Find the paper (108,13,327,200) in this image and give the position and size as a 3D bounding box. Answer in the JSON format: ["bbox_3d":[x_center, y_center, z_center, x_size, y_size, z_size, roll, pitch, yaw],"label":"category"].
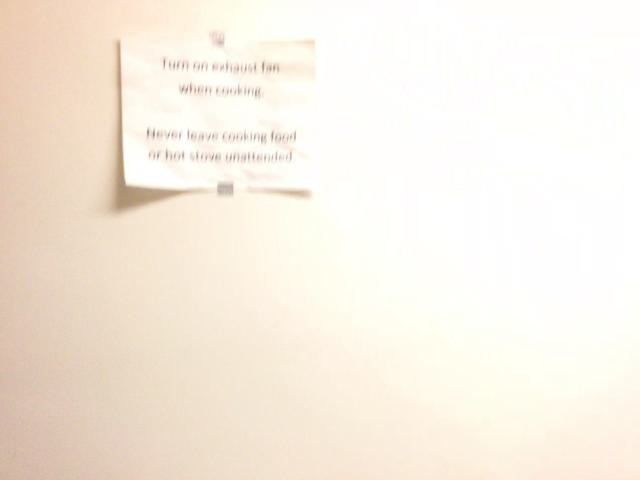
[{"bbox_3d":[-0.140,-0.180,0.820,0.300,0.240,0.040,0,0,-14],"label":"paper"}]
